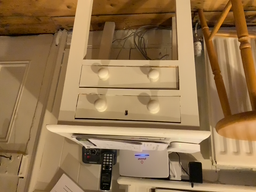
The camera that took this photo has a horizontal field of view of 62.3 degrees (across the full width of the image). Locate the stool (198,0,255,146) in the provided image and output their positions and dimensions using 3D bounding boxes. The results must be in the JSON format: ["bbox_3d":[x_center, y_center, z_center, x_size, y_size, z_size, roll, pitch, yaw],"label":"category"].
[{"bbox_3d":[0.500,-0.180,0.840,0.340,0.690,0.330,1,158,8],"label":"stool"}]
